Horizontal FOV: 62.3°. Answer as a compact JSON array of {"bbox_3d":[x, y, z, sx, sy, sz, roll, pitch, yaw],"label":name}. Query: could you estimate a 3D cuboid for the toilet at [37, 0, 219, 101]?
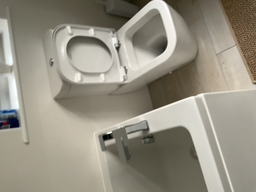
[{"bbox_3d":[0.000,-0.290,1.290,0.630,0.820,0.420,-26,73,47],"label":"toilet"}]
